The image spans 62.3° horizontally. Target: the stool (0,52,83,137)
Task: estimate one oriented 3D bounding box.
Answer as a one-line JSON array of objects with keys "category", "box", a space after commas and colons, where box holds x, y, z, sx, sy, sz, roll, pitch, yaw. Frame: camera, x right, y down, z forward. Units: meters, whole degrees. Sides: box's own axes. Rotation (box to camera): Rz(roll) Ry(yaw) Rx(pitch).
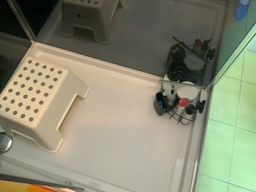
[{"category": "stool", "box": [-0.460, 0.000, 1.120, 0.300, 0.250, 0.300, 18, 67, 6]}]
